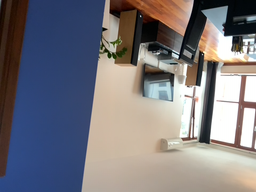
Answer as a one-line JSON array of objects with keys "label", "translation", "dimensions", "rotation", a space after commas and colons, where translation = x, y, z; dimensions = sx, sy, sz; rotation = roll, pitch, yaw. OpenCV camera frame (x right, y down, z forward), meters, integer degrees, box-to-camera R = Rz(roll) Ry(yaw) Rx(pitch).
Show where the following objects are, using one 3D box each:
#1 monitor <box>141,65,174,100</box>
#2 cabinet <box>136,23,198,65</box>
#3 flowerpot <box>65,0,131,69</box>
[{"label": "monitor", "translation": [0.700, -0.280, 4.850], "dimensions": [0.060, 0.670, 1.140], "rotation": [5, 179, 41]}, {"label": "cabinet", "translation": [0.950, -1.090, 4.760], "dimensions": [0.530, 0.430, 1.700], "rotation": [6, 178, 41]}, {"label": "flowerpot", "translation": [-0.440, -0.980, 3.210], "dimensions": [0.730, 0.990, 0.480], "rotation": [9, 178, -43]}]
